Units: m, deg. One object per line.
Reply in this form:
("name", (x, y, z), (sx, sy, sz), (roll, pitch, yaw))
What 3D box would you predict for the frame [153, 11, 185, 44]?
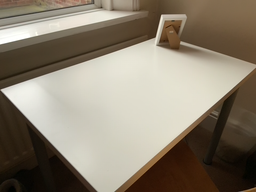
("frame", (0.230, -0.400, 1.230), (0.130, 0.140, 0.180), (-1, 34, -4))
